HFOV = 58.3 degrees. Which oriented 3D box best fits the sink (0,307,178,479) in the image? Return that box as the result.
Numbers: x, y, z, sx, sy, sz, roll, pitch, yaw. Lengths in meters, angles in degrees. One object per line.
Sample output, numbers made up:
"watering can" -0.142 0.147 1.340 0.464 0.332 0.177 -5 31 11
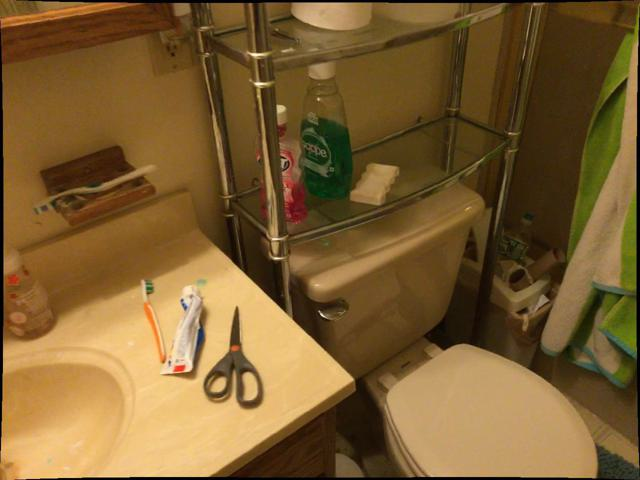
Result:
"sink" -0.460 0.330 0.740 0.450 0.160 0.330 -26 41 -29
